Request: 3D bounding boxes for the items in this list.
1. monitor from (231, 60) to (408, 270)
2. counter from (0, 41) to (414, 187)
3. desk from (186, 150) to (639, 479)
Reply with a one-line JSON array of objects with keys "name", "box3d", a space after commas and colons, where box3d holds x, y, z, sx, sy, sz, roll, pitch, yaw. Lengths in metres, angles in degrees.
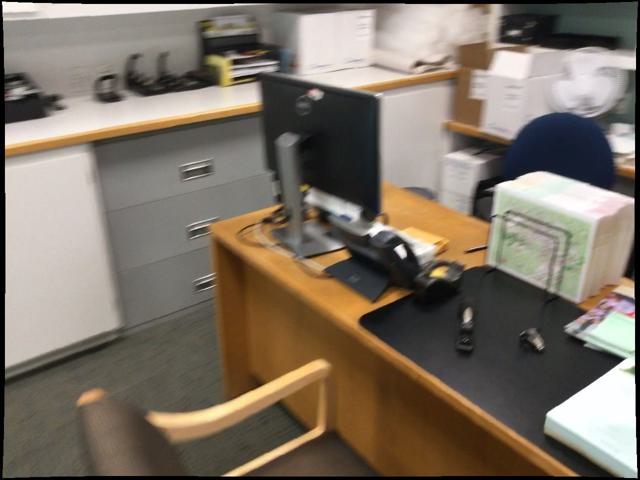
[{"name": "monitor", "box3d": [-0.010, -0.250, 1.720, 0.250, 0.470, 0.500, -20, 31, -31]}, {"name": "counter", "box3d": [-0.869, -0.581, 2.560, 2.798, 0.210, 0.760, -20, 31, -31]}, {"name": "desk", "box3d": [0.420, 0.410, 1.720, 0.840, 0.811, 1.780, -20, 31, -31]}]
